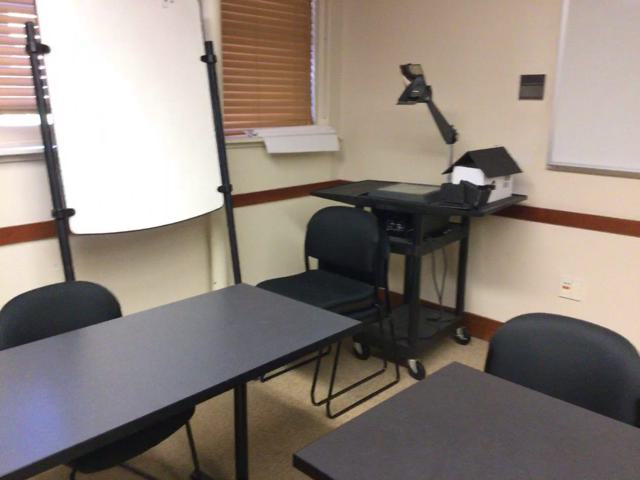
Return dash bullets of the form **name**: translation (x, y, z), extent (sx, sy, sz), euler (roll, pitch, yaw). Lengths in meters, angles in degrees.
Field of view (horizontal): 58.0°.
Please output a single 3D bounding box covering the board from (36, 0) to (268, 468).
- **board**: translation (-0.710, -0.100, 2.530), extent (0.260, 1.900, 0.920), euler (11, 11, 41)
